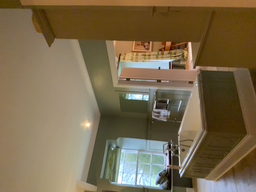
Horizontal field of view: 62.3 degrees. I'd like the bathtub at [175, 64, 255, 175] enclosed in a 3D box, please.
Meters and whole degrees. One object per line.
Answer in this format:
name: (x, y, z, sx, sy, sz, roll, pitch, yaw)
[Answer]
bathtub: (1.170, 0.500, 3.280, 1.890, 0.610, 0.900, 85, -170, -56)
